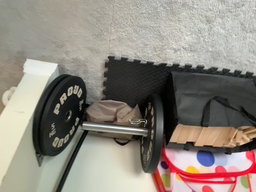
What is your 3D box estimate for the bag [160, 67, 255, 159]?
[{"bbox_3d":[0.460,0.100,1.200,0.460,0.330,0.350,5,134,-4],"label":"bag"}]
